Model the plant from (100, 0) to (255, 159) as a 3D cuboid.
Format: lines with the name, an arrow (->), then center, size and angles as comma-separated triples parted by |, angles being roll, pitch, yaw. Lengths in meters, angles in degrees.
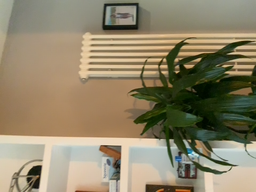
plant -> 0.840, 0.000, 0.950 | 0.650, 1.790, 0.550 | 78, -166, -73
